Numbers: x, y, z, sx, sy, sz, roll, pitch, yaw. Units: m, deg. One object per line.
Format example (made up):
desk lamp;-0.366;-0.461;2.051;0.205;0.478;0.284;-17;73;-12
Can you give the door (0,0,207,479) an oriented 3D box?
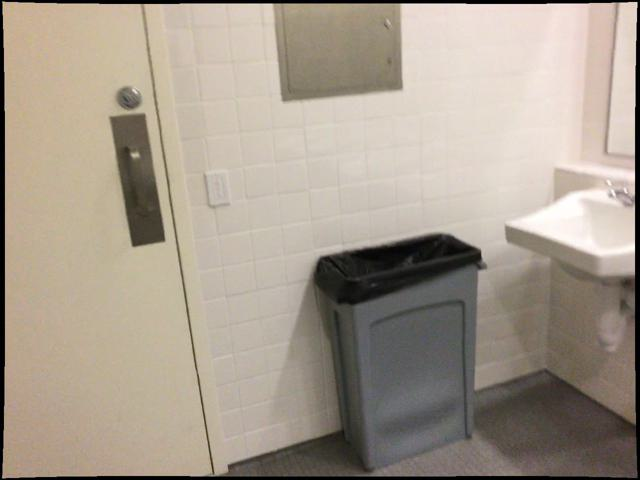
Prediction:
door;-0.918;0.070;1.700;0.908;1.884;0.070;-11;17;-18

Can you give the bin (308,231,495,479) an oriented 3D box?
bin;0.309;0.421;2.110;0.579;0.772;0.290;-11;17;-18

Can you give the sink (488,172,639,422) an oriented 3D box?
sink;0.918;0.140;1.930;0.449;0.611;0.540;-11;17;-18
